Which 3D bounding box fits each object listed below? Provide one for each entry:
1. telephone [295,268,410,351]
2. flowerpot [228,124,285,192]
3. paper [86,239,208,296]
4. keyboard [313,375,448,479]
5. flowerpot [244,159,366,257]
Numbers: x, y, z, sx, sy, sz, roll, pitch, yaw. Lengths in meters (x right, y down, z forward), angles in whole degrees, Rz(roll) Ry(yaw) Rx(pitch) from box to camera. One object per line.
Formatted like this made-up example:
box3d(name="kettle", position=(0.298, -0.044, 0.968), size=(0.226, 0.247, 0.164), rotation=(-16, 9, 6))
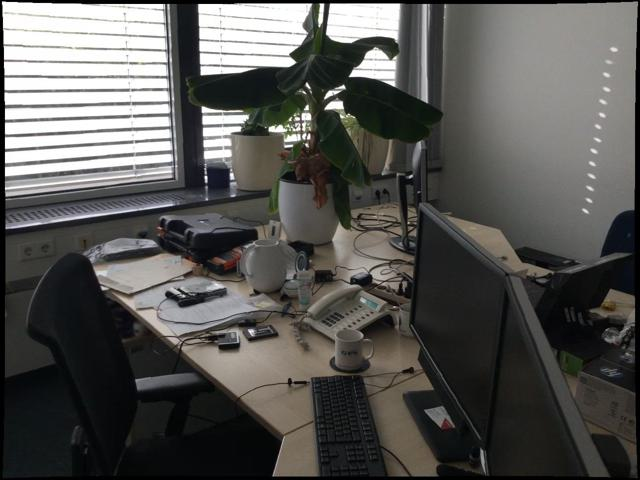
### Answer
box3d(name="telephone", position=(0.100, 0.210, 1.850), size=(0.230, 0.110, 0.290), rotation=(-16, 25, -37))
box3d(name="flowerpot", position=(-0.350, -0.460, 3.200), size=(0.240, 0.320, 0.180), rotation=(-16, 25, -37))
box3d(name="paper", position=(-0.709, 0.100, 2.360), size=(0.350, 0.040, 0.390), rotation=(-16, 25, -37))
box3d(name="keyboard", position=(0.120, 0.440, 1.320), size=(0.230, 0.030, 0.400), rotation=(-3, 20, -6))
box3d(name="flowerpot", position=(-0.070, -0.170, 2.760), size=(0.410, 0.320, 0.400), rotation=(-16, 25, -37))
